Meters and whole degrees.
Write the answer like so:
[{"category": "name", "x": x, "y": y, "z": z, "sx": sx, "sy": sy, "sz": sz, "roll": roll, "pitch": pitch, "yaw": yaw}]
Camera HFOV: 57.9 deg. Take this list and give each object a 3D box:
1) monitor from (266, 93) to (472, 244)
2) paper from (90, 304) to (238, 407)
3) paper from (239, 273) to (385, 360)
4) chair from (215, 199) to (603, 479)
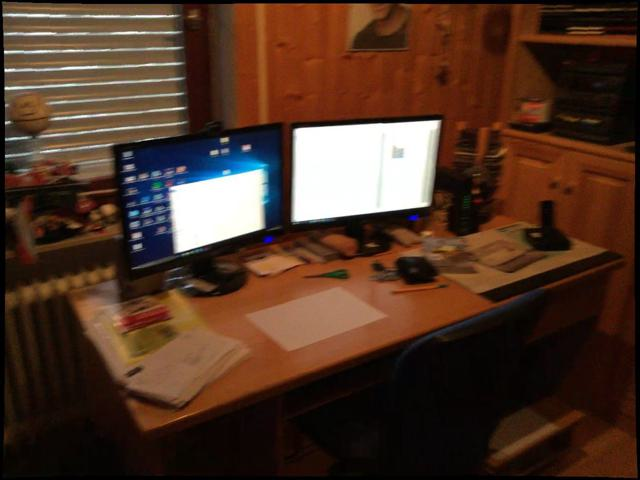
[{"category": "monitor", "x": 0.160, "y": -0.240, "z": 1.830, "sx": 0.610, "sy": 0.350, "sz": 0.180, "roll": -12, "pitch": 28, "yaw": -21}, {"category": "paper", "x": -0.330, "y": 0.240, "z": 1.260, "sx": 0.190, "sy": 0.040, "sz": 0.260, "roll": 10, "pitch": 28, "yaw": 23}, {"category": "paper", "x": -0.020, "y": 0.180, "z": 1.450, "sx": 0.300, "sy": 0.030, "sz": 0.210, "roll": -18, "pitch": 30, "yaw": -31}, {"category": "chair", "x": 0.200, "y": 0.501, "z": 1.540, "sx": 0.650, "sy": 0.961, "sz": 0.600, "roll": -18, "pitch": 30, "yaw": -31}]
